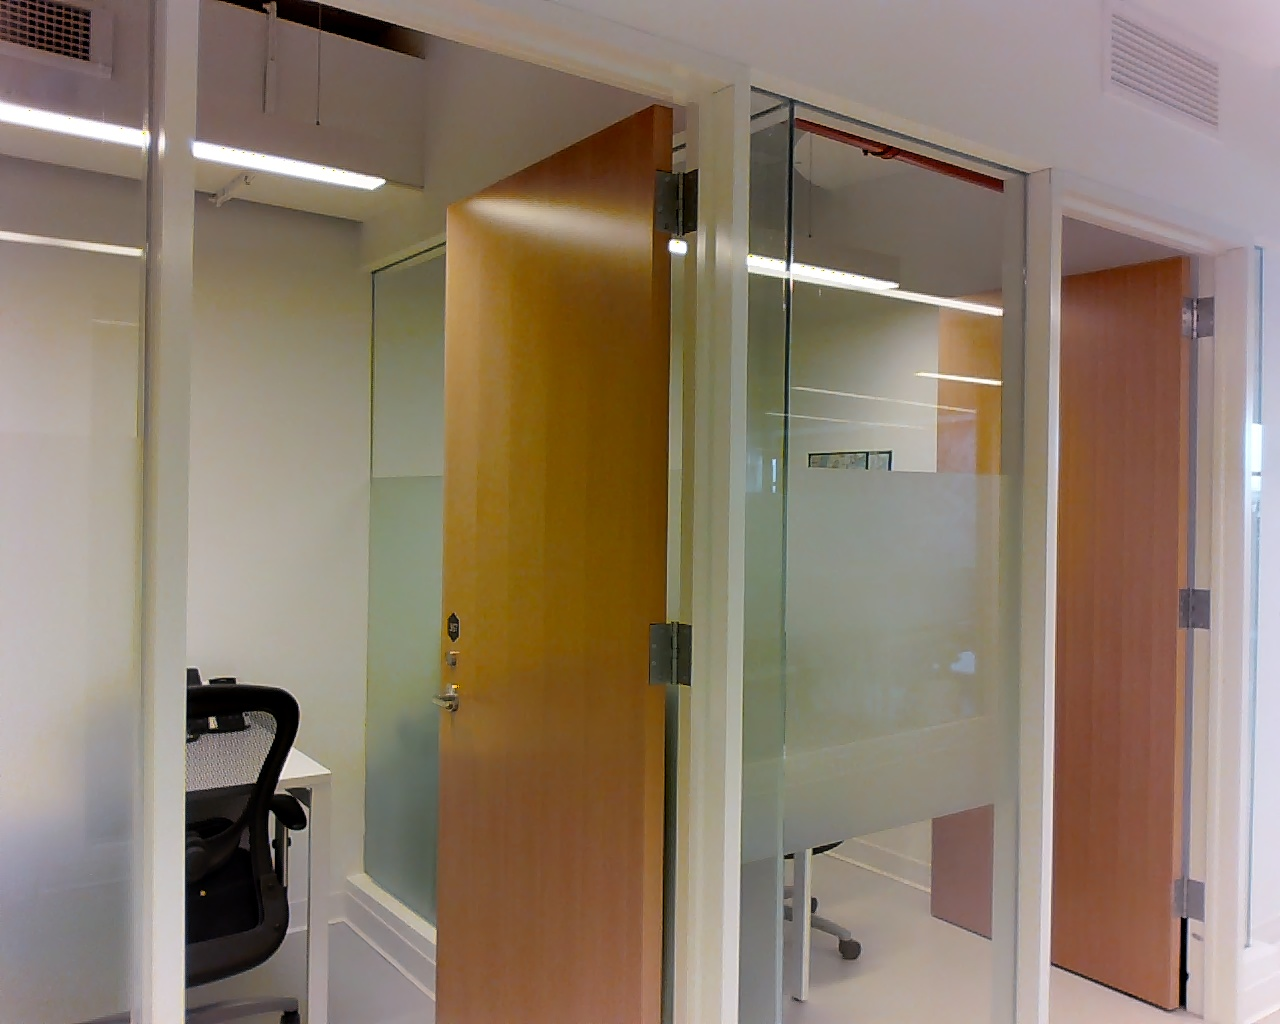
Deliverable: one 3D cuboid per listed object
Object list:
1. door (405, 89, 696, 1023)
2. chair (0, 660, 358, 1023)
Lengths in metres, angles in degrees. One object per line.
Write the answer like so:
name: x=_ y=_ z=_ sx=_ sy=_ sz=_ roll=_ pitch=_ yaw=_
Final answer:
door: x=-0.250 y=0.340 z=2.410 sx=0.120 sy=2.250 sz=0.980 roll=1 pitch=0 yaw=-37
chair: x=-1.160 y=0.940 z=2.680 sx=0.710 sy=1.020 sz=0.570 roll=1 pitch=0 yaw=-36
